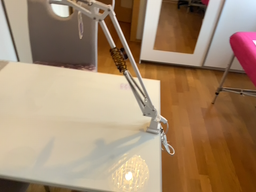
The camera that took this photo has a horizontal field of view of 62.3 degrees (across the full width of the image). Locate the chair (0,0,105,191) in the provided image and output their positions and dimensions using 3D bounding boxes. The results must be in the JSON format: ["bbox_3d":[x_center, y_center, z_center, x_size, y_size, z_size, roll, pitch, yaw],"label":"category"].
[{"bbox_3d":[-0.390,0.040,1.230,0.400,0.990,0.540,8,39,1],"label":"chair"}]
